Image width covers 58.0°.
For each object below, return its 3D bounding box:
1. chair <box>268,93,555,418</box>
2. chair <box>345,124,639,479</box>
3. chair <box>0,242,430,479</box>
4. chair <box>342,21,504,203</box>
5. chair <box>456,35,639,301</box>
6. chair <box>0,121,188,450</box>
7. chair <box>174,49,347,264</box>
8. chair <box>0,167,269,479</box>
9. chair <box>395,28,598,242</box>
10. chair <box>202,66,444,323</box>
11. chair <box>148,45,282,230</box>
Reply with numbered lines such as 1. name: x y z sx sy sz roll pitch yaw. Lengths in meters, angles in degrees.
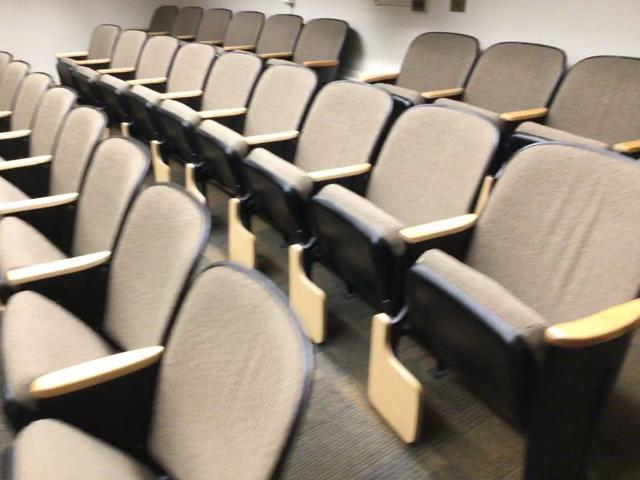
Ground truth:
1. chair: 0.250 0.000 1.910 0.530 0.830 0.590 -8 27 -36
2. chair: 0.490 0.190 1.490 0.540 0.800 0.620 -12 29 -30
3. chair: -0.270 0.510 1.090 0.540 0.790 0.610 -7 26 -31
4. chair: 0.510 -0.700 3.040 0.540 0.790 0.530 -15 31 -32
5. chair: 1.020 -0.330 2.300 0.530 0.830 0.640 -15 31 -32
6. chair: -0.820 0.090 1.890 0.560 0.810 0.570 -12 29 -37
7. chair: -0.290 -0.420 2.680 0.580 0.830 0.490 -13 30 -34
8. chair: -0.540 0.300 1.500 0.550 0.810 0.560 -11 28 -35
9. chair: 0.780 -0.520 2.690 0.550 0.810 0.560 -15 31 -32
10. chair: -0.030 -0.220 2.370 0.600 0.810 0.660 -6 25 -36
11. chair: -0.530 -0.550 2.990 0.500 0.800 0.450 -15 31 -32
